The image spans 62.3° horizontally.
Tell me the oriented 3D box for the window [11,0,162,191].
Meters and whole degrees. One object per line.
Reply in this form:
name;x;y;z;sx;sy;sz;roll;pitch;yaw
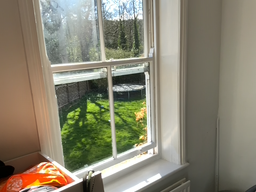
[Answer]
window;-0.220;-0.130;1.720;1.070;1.860;0.360;-13;17;-38
